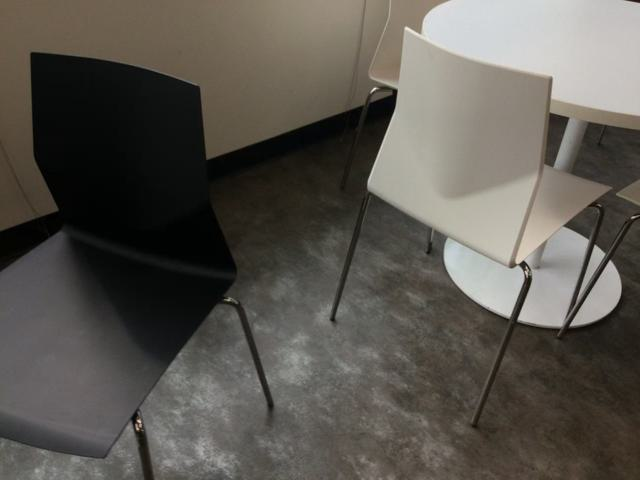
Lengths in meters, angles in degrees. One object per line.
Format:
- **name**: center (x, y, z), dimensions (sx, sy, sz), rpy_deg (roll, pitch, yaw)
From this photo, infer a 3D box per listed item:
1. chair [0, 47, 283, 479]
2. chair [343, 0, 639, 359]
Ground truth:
- **chair**: center (-0.420, 0.150, 1.070), dimensions (0.570, 0.790, 0.570), rpy_deg (8, 37, 8)
- **chair**: center (0.530, -0.240, 1.300), dimensions (0.620, 0.440, 0.710), rpy_deg (-26, 45, -32)
